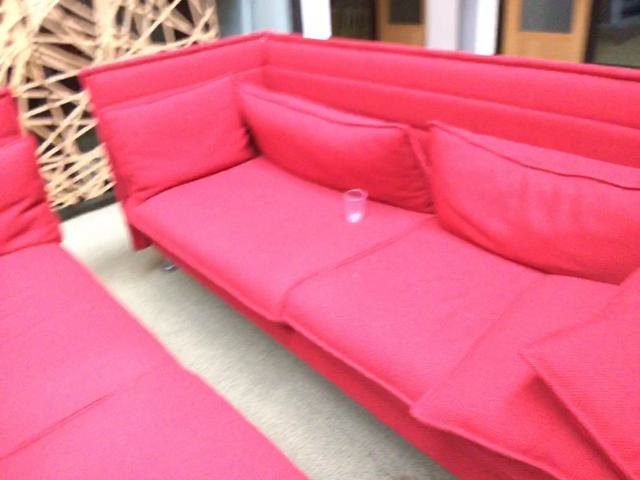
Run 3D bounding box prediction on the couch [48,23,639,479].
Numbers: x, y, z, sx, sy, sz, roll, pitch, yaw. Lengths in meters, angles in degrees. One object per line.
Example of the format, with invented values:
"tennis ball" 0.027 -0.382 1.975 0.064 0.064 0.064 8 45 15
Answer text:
"couch" 0.140 -0.110 1.860 0.980 0.880 2.490 -26 33 -32
